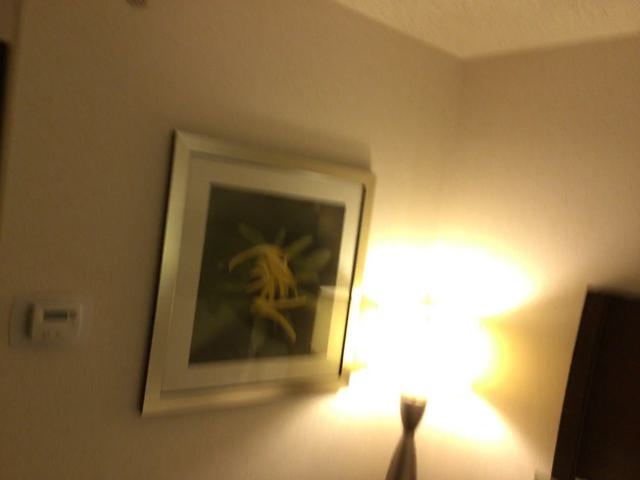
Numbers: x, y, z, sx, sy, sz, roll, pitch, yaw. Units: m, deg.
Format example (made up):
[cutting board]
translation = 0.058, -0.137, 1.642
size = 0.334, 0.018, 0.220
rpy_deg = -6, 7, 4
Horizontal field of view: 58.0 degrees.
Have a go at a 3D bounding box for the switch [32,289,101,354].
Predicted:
[switch]
translation = -0.630, 0.200, 1.440
size = 0.140, 0.150, 0.050
rpy_deg = 4, -2, -39

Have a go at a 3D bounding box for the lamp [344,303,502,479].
[lamp]
translation = 0.360, 0.620, 2.050
size = 0.370, 0.750, 0.370
rpy_deg = 4, -2, -39

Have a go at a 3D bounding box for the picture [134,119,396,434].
[picture]
translation = -0.120, 0.120, 1.860
size = 0.880, 0.840, 0.110
rpy_deg = 4, -2, -39
